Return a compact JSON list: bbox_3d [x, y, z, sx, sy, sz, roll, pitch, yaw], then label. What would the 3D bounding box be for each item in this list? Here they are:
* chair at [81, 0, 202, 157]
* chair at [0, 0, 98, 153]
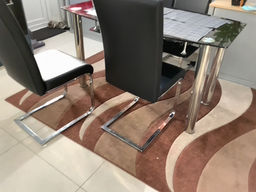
[{"bbox_3d":[0.090,-0.200,1.460,0.450,0.980,0.590,24,40,27],"label":"chair"},{"bbox_3d":[-0.610,-0.230,1.470,0.480,0.970,0.590,24,40,27],"label":"chair"}]
